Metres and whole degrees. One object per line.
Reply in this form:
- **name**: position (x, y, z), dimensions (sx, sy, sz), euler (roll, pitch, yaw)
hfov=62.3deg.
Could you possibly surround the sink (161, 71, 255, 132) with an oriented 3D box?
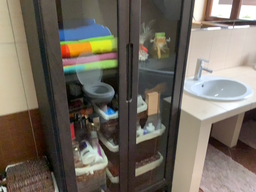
- **sink**: position (0.660, 0.000, 1.710), dimensions (0.570, 0.200, 0.520), euler (-13, 27, -28)

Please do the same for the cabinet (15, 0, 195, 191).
- **cabinet**: position (-0.120, -0.110, 1.240), dimensions (0.780, 2.010, 0.470), euler (-13, 27, -28)
